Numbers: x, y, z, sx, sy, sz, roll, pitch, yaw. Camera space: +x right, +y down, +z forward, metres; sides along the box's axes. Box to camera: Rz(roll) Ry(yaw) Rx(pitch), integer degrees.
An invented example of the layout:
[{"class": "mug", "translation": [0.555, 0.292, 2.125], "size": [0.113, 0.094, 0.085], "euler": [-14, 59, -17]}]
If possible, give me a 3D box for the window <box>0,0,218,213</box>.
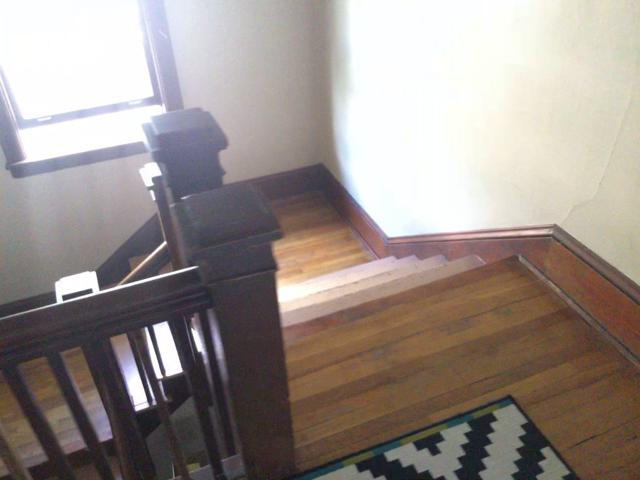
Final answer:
[{"class": "window", "translation": [-1.350, -1.140, 3.290], "size": [1.100, 1.730, 0.400], "euler": [-17, 31, -14]}]
